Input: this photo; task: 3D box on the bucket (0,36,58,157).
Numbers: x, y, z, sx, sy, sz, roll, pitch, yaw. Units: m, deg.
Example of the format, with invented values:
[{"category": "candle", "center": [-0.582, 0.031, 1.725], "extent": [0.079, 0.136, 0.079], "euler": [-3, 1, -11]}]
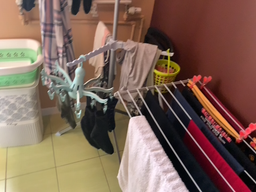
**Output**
[{"category": "bucket", "center": [-0.830, 0.020, 1.530], "extent": [0.510, 0.760, 0.390], "euler": [-9, 43, -21]}]
